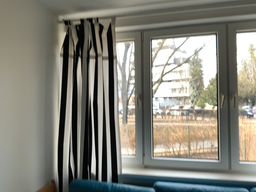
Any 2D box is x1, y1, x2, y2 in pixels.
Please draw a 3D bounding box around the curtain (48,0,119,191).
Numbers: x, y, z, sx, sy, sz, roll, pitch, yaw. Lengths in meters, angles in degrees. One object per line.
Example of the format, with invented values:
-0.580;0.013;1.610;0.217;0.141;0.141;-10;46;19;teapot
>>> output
-0.430;-0.010;2.090;0.630;1.800;0.240;-1;-1;11;curtain
